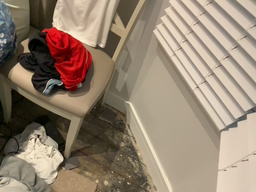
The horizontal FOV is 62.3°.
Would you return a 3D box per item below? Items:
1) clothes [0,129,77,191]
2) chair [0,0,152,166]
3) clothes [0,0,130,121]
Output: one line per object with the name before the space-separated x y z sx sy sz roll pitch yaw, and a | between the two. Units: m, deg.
clothes | -0.510 0.440 0.970 0.350 0.170 0.440 28 45 -1
chair | -0.320 -0.200 1.060 0.500 0.970 0.560 30 45 1
clothes | -0.290 -0.200 0.950 0.450 0.170 0.450 28 45 0
